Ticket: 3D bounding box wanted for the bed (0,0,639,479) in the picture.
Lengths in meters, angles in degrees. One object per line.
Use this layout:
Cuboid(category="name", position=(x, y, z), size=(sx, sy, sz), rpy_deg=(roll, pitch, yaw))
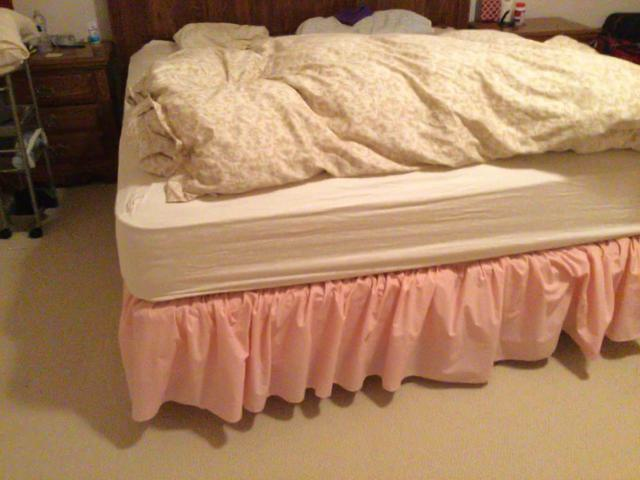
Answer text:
Cuboid(category="bed", position=(0.150, -0.740, 2.330), size=(1.960, 1.680, 2.270), rpy_deg=(-11, 25, -10))
